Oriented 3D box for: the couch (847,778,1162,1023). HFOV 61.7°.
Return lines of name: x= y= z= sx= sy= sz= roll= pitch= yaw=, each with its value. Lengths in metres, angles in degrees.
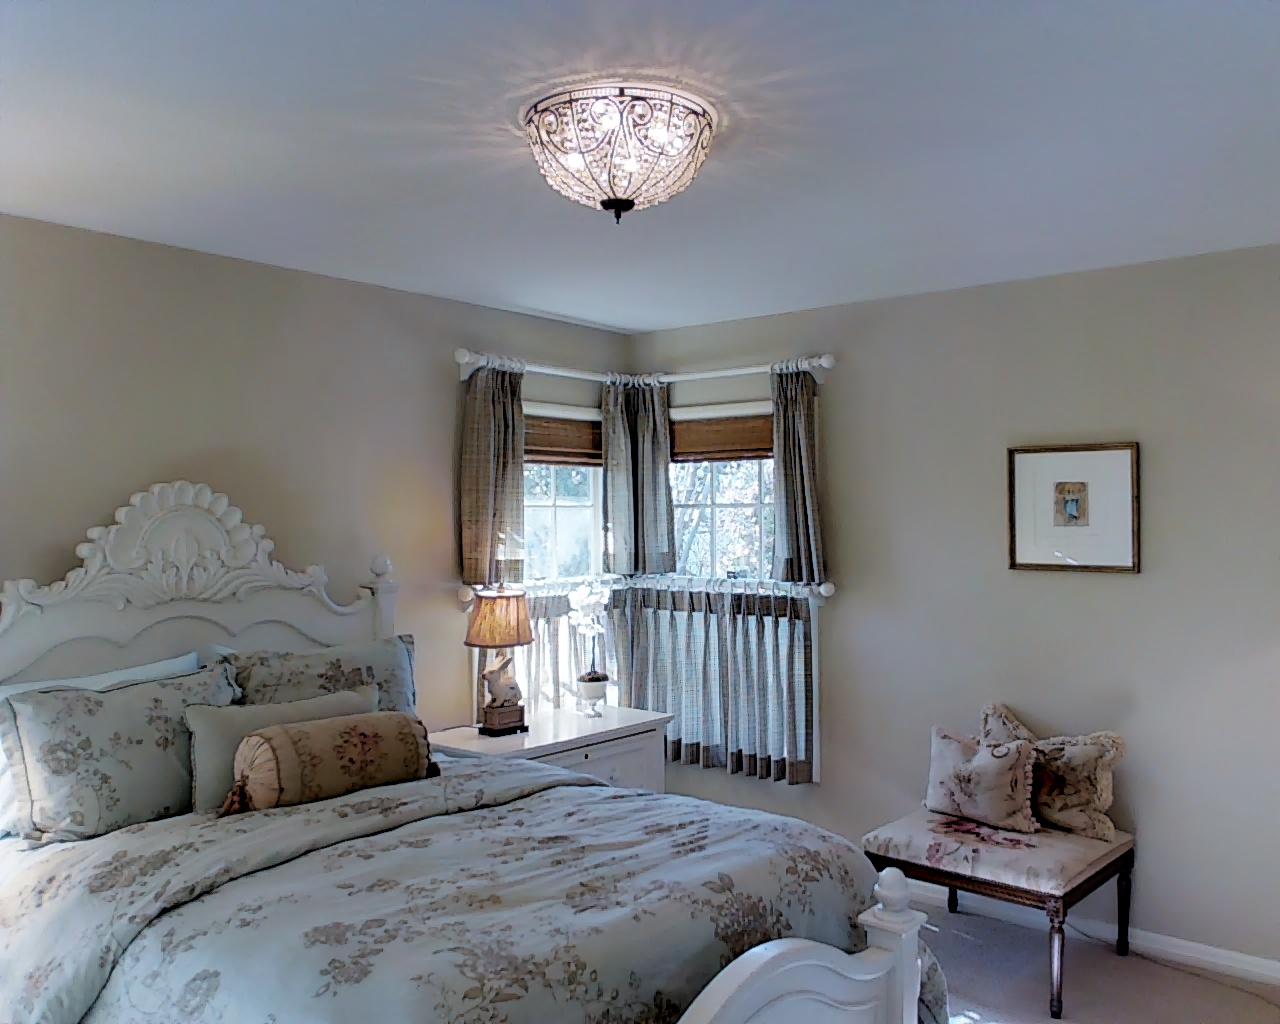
couch: x=1.310 y=1.340 z=3.820 sx=0.800 sy=0.490 sz=0.870 roll=0 pitch=0 yaw=40
